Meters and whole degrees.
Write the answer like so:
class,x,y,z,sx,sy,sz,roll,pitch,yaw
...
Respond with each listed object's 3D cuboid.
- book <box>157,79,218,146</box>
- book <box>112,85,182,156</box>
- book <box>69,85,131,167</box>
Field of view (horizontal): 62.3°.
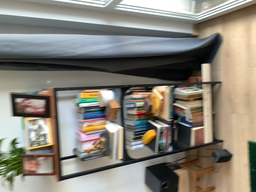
class,x,y,z,sx,sy,sz,roll,pitch,yaw
book,0.520,0.120,1.870,0.320,0.390,0.500,1,95,61
book,0.140,0.160,1.690,0.400,0.370,0.470,1,95,61
book,-0.210,0.180,1.490,0.370,0.280,0.480,-1,93,61
